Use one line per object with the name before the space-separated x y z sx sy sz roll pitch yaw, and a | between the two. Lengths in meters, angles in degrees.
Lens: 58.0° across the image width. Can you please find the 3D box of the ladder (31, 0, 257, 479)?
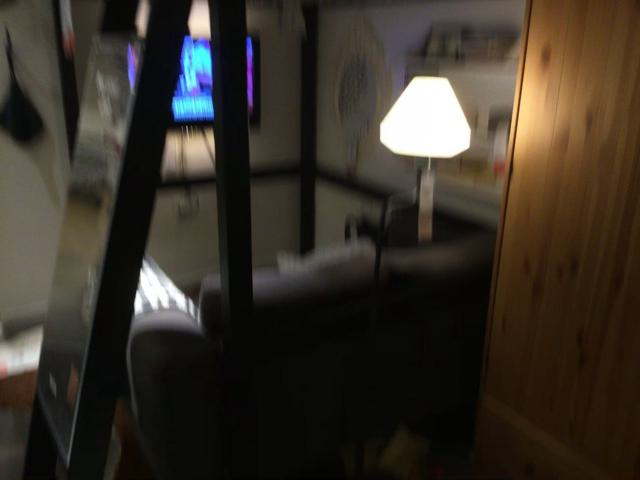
ladder | -0.480 -0.070 1.440 0.320 2.100 0.520 2 17 -30

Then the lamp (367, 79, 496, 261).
lamp | 0.320 -0.220 1.720 0.250 0.490 0.230 -8 20 -27
